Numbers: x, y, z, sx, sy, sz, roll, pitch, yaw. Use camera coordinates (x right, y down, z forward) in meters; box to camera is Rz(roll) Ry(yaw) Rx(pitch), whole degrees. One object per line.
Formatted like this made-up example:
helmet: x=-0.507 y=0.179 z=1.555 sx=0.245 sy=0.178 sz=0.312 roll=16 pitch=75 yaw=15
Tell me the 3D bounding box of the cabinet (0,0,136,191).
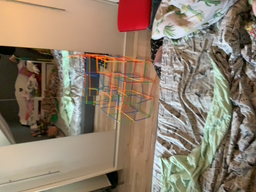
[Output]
cabinet: x=-1.020 y=0.010 z=2.250 sx=0.460 sy=2.160 sz=2.030 roll=22 pitch=110 yaw=53
